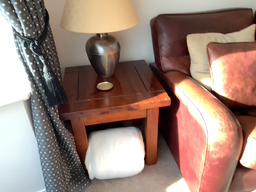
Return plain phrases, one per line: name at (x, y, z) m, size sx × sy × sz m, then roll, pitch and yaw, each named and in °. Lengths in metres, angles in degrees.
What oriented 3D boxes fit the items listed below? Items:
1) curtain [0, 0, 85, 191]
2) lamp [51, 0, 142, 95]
curtain at (-0.420, -0.470, 0.790) m, size 0.160 × 2.310 × 0.540 m, roll -6°, pitch 32°, yaw -6°
lamp at (-0.180, -0.410, 1.260) m, size 0.410 × 0.600 × 0.480 m, roll -8°, pitch 32°, yaw -9°
